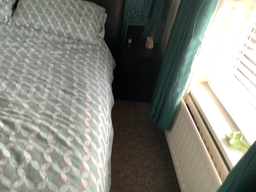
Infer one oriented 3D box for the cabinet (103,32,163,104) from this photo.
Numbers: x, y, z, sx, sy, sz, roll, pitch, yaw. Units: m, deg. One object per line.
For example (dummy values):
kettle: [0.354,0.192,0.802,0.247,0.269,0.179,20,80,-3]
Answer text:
cabinet: [0.020,-0.310,2.300,0.500,0.530,0.520,7,35,-8]
